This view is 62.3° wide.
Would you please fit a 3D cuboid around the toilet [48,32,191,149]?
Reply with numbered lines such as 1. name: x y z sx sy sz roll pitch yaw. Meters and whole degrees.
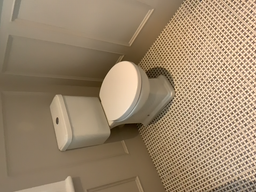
1. toilet: -0.090 0.000 1.590 0.670 0.750 0.420 -52 51 37
